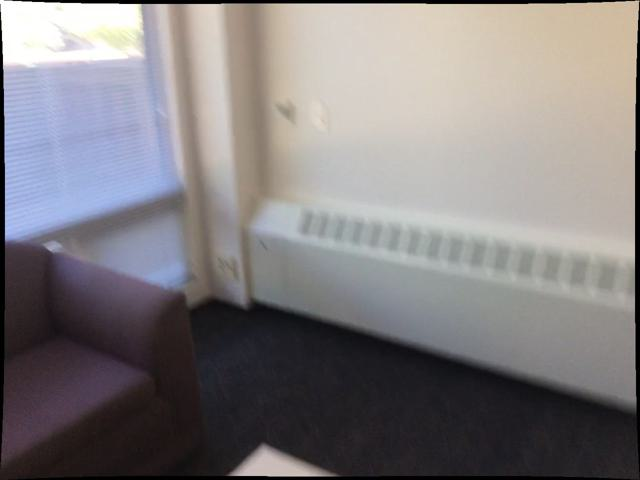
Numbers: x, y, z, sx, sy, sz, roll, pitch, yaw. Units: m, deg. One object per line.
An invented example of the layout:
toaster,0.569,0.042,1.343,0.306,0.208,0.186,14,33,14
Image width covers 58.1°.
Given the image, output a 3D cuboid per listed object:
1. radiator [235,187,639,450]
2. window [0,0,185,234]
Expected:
radiator,0.519,0.240,2.330,2.078,0.641,0.240,12,26,35
window,-1.128,-0.801,2.150,0.290,1.402,1.110,12,26,35
